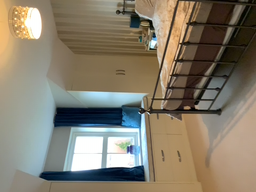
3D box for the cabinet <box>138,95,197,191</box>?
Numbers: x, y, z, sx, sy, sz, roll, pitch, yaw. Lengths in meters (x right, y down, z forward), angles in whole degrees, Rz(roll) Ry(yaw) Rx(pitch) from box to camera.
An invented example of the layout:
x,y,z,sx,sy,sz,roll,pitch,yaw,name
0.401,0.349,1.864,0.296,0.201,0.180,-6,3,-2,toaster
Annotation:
x,y,z,sx,sy,sz,roll,pitch,yaw,name
0.580,0.760,3.650,0.560,0.690,1.530,96,174,-50,cabinet
